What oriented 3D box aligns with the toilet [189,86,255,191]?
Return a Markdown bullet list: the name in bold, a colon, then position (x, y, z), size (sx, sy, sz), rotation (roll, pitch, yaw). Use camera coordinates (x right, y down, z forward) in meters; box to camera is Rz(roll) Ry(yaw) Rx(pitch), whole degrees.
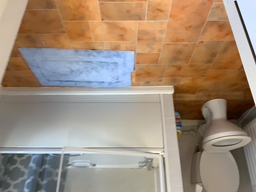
- **toilet**: position (0.890, 0.440, 1.960), size (0.390, 0.870, 0.630), rotation (0, 152, 1)
